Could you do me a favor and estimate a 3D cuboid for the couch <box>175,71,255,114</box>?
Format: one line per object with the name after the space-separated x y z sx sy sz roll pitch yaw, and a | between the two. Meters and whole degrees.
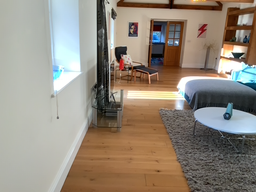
1.850 -0.140 4.650 1.310 0.520 1.390 2 17 0 | couch

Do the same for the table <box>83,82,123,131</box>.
-0.370 0.130 3.610 0.530 0.450 1.120 2 17 0 | table

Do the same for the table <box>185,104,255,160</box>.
1.390 0.450 2.920 0.950 0.370 0.910 2 17 0 | table
